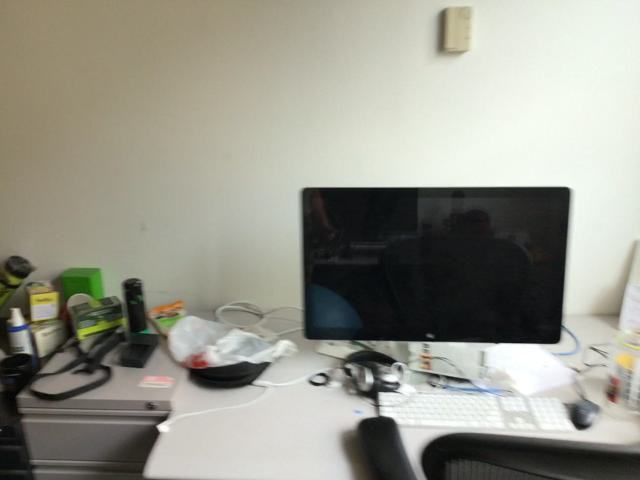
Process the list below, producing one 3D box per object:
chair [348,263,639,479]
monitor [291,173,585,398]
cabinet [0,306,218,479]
[{"bbox_3d":[0.430,0.640,1.150,0.730,0.970,0.670,4,18,2],"label":"chair"},{"bbox_3d":[0.260,0.110,1.440,0.630,0.490,0.170,4,18,2],"label":"monitor"},{"bbox_3d":[-0.560,0.600,1.570,0.490,0.720,0.360,4,18,2],"label":"cabinet"}]
